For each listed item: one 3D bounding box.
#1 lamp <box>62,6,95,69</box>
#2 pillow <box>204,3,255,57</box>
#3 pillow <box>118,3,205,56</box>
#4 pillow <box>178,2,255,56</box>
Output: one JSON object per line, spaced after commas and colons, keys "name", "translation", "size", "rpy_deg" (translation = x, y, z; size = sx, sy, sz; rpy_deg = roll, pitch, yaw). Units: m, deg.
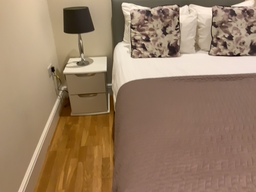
{"name": "lamp", "translation": [-0.470, -0.580, 2.090], "size": [0.230, 0.530, 0.320], "rpy_deg": [-5, 29, -7]}
{"name": "pillow", "translation": [0.900, -0.540, 1.770], "size": [0.450, 0.400, 0.120], "rpy_deg": [-4, 52, 9]}
{"name": "pillow", "translation": [0.260, -0.640, 1.960], "size": [0.640, 0.350, 0.540], "rpy_deg": [-5, 29, -7]}
{"name": "pillow", "translation": [0.920, -0.650, 1.970], "size": [0.710, 0.350, 0.590], "rpy_deg": [-3, 29, -4]}
